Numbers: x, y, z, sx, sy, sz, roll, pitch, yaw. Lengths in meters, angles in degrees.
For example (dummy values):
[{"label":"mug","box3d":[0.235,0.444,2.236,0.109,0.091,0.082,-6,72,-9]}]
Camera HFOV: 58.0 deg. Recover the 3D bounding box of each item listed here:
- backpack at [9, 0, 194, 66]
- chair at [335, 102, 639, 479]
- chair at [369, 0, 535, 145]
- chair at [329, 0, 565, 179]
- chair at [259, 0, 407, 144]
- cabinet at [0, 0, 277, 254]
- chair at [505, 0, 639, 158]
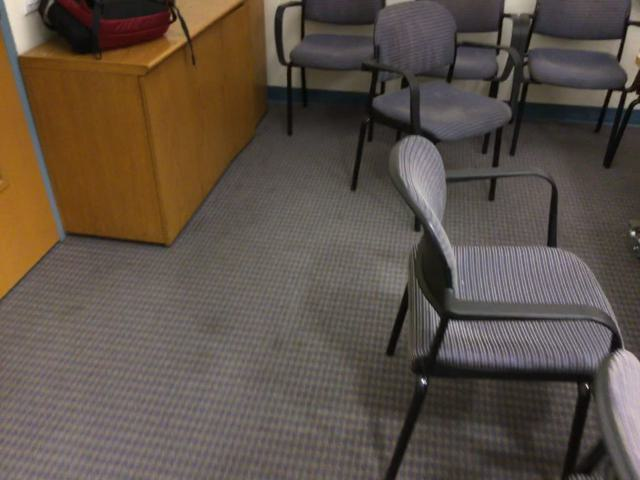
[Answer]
[{"label":"backpack","box3d":[-0.760,-0.870,2.050,0.460,0.340,0.420,8,34,9]},{"label":"chair","box3d":[0.400,0.170,1.420,0.590,0.780,0.590,8,34,9]},{"label":"chair","box3d":[0.650,-0.980,2.950,0.660,0.710,0.640,8,34,9]},{"label":"chair","box3d":[0.480,-0.660,2.350,0.610,0.470,0.630,-22,41,-31]},{"label":"chair","box3d":[0.090,-1.030,3.050,0.640,0.760,0.660,8,34,9]},{"label":"cabinet","box3d":[-0.670,-0.710,2.730,0.540,0.770,1.510,8,34,9]},{"label":"chair","box3d":[1.270,-0.880,2.810,0.540,0.700,0.620,8,34,9]}]
